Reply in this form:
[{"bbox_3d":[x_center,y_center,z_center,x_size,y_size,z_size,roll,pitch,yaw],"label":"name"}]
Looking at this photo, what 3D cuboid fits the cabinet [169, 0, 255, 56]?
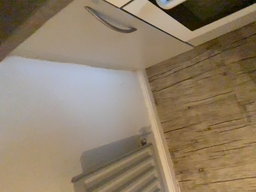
[{"bbox_3d":[0.480,-0.580,0.910,0.590,0.290,0.590,-20,81,33],"label":"cabinet"}]
